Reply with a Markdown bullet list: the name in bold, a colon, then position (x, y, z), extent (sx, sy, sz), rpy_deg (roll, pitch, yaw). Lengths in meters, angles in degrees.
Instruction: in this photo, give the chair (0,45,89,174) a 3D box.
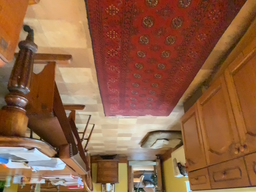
- **chair**: position (-0.620, 0.220, 1.780), extent (0.500, 0.740, 1.060), rpy_deg (2, 156, -7)
